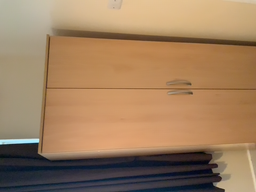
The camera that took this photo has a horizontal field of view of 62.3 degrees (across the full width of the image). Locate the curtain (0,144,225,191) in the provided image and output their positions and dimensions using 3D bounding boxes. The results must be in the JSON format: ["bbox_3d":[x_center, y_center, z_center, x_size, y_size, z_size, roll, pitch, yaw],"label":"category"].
[{"bbox_3d":[-0.120,0.680,1.600,0.080,1.830,0.550,121,148,-67],"label":"curtain"}]
